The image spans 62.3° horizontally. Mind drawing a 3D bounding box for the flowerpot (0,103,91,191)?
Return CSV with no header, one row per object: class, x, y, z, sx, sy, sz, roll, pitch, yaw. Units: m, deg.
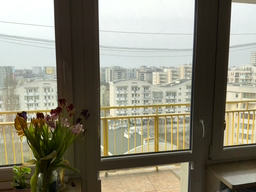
flowerpot,-0.410,0.300,1.140,0.400,0.460,0.390,-1,8,-11
